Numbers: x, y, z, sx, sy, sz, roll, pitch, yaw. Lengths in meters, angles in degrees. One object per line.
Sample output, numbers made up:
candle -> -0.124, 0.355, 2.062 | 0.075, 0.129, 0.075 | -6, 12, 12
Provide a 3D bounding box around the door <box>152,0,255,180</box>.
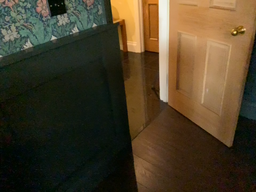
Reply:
door -> 0.520, -0.500, 1.580 | 0.140, 2.300, 0.980 | -20, 34, -22
